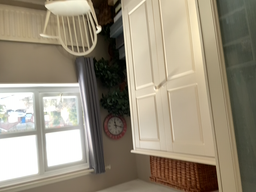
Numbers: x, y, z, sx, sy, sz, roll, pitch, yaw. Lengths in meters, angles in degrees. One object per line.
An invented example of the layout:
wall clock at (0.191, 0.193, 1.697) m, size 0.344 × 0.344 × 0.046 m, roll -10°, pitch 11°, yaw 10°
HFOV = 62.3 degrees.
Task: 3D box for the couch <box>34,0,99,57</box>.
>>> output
couch at (-0.620, -0.860, 2.230) m, size 0.500 × 0.720 × 0.540 m, roll -6°, pitch 175°, yaw -1°
